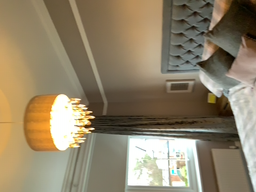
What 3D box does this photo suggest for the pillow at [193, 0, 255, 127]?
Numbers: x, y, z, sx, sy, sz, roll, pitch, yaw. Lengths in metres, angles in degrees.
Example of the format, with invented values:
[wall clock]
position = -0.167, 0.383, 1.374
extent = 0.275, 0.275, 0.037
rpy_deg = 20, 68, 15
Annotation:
[pillow]
position = 0.970, -0.420, 2.100
extent = 1.510, 0.340, 0.830
rpy_deg = 79, -168, -54
